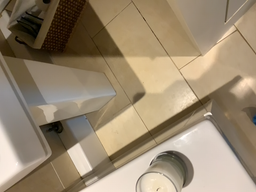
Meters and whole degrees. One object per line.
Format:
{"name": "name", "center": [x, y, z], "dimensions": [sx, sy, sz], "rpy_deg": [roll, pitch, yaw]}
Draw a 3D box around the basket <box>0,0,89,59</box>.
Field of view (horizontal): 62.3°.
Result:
{"name": "basket", "center": [-0.450, -0.460, 1.150], "dimensions": [0.280, 0.220, 0.400], "rpy_deg": [36, 105, 16]}
